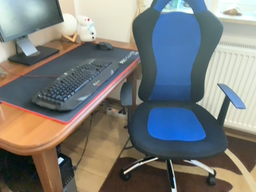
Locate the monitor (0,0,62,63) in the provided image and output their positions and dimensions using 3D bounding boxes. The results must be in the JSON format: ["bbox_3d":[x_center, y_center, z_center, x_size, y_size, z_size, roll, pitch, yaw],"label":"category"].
[{"bbox_3d":[-0.530,-0.440,1.190,0.050,0.420,0.390,15,29,18],"label":"monitor"}]
